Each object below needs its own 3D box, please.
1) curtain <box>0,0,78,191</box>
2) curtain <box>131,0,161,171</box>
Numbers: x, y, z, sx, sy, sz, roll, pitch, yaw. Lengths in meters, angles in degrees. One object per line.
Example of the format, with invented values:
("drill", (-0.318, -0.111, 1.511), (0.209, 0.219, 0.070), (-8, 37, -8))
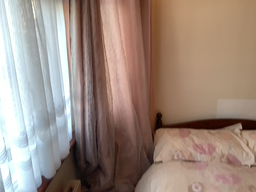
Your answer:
("curtain", (-0.430, -0.190, 0.560), (0.070, 1.380, 1.550), (0, 16, 3))
("curtain", (0.140, -0.330, 1.670), (0.190, 1.810, 0.430), (1, 16, 6))
